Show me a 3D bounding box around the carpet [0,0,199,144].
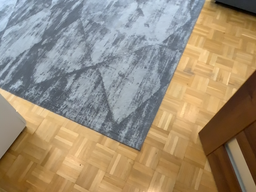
[{"bbox_3d":[-0.640,-0.760,1.760,2.130,0.070,1.500,25,63,11],"label":"carpet"}]
